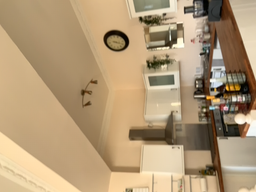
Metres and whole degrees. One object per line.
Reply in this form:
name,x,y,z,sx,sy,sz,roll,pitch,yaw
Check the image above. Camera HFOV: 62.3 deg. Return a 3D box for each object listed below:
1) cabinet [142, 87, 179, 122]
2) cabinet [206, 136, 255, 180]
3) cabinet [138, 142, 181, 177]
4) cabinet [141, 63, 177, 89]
cabinet,0.750,0.190,4.820,0.310,0.780,0.720,72,-160,-50
cabinet,1.890,1.070,3.640,0.590,0.930,0.530,72,-160,-50
cabinet,0.610,1.200,4.060,0.300,0.760,0.550,72,-160,-50
cabinet,0.720,-0.450,4.840,0.460,0.770,0.310,72,-160,-50
